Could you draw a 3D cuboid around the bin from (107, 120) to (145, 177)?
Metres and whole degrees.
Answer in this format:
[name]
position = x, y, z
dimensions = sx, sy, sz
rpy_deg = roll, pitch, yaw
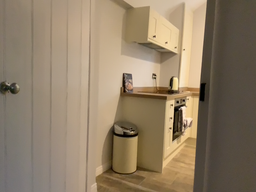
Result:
[bin]
position = -0.020, 0.610, 2.560
dimensions = 0.330, 0.560, 0.290
rpy_deg = 5, 6, 27
